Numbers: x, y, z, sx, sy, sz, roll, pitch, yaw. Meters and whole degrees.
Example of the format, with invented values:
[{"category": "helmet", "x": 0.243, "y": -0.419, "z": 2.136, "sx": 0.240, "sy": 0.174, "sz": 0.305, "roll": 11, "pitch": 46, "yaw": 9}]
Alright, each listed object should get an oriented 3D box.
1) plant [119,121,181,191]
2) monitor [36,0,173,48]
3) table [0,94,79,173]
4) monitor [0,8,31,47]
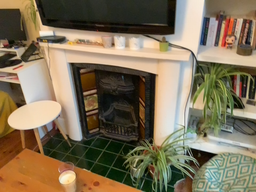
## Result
[{"category": "plant", "x": 0.180, "y": 0.500, "z": 1.690, "sx": 0.390, "sy": 0.440, "sz": 0.290, "roll": 11, "pitch": 32, "yaw": 21}, {"category": "monitor", "x": -0.200, "y": -0.710, "z": 1.320, "sx": 0.980, "sy": 0.670, "sz": 0.040, "roll": 15, "pitch": 39, "yaw": 16}, {"category": "table", "x": -0.810, "y": 0.330, "z": 2.010, "sx": 0.420, "sy": 0.480, "sz": 0.450, "roll": 11, "pitch": 32, "yaw": 21}, {"category": "monitor", "x": -1.340, "y": -0.740, "z": 2.300, "sx": 0.550, "sy": 0.380, "sz": 0.050, "roll": 6, "pitch": 29, "yaw": 17}]
